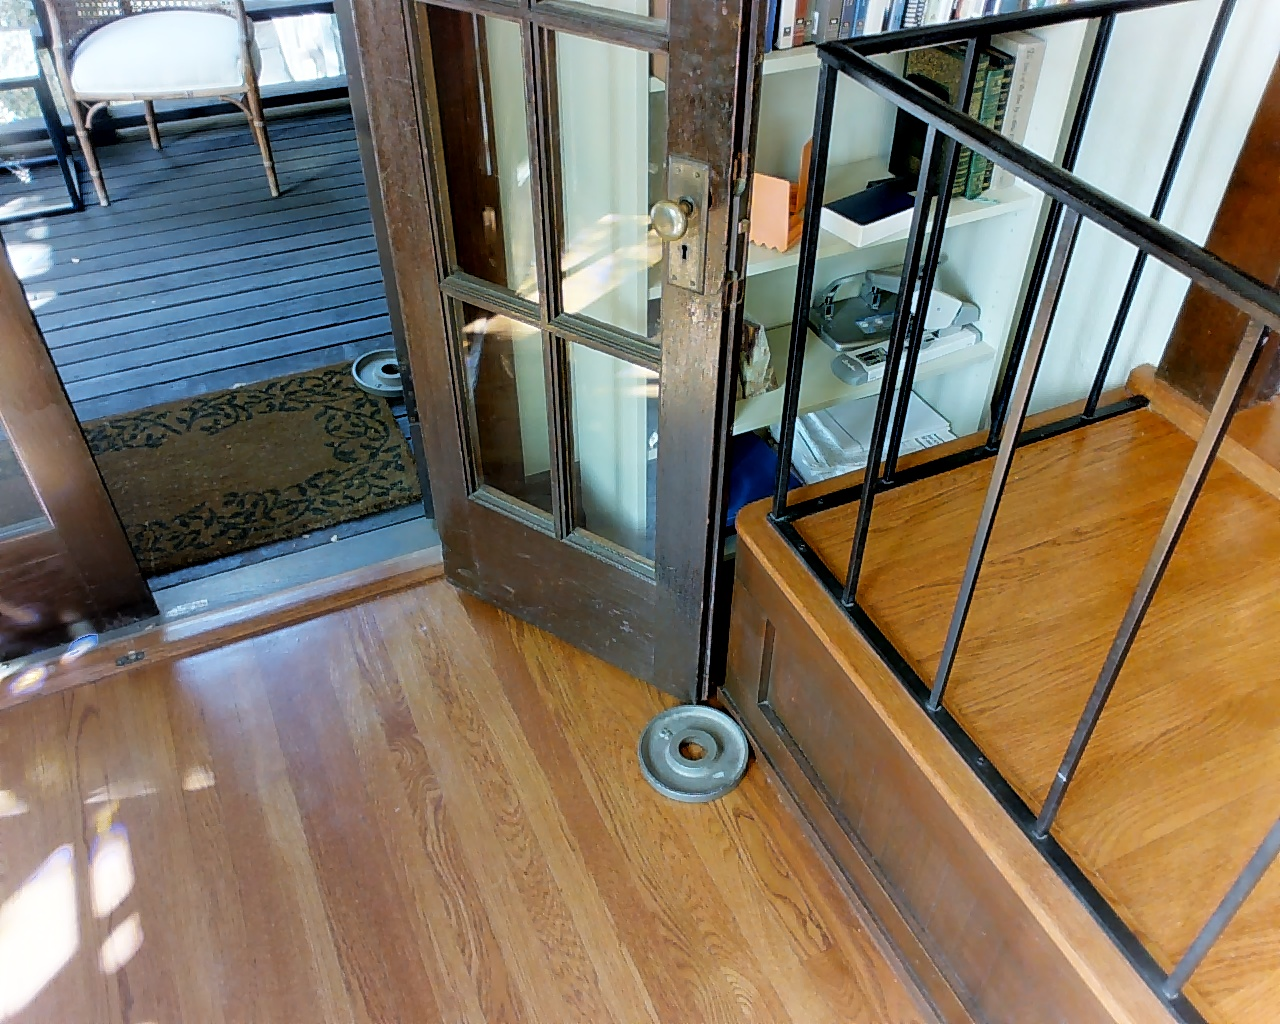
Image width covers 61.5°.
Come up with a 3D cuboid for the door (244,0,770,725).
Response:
[{"bbox_3d":[-0.210,-0.580,1.410,0.790,2.140,0.080,24,47,24],"label":"door"}]
